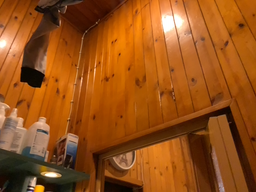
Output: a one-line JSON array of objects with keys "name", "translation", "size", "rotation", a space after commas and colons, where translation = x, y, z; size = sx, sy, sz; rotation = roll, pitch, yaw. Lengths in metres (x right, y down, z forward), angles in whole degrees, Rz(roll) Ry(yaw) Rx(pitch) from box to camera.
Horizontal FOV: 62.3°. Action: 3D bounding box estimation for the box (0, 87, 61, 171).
[{"name": "box", "translation": [-0.490, 0.160, 0.940], "size": [0.270, 0.240, 0.220], "rotation": [-29, -44, 35]}]
